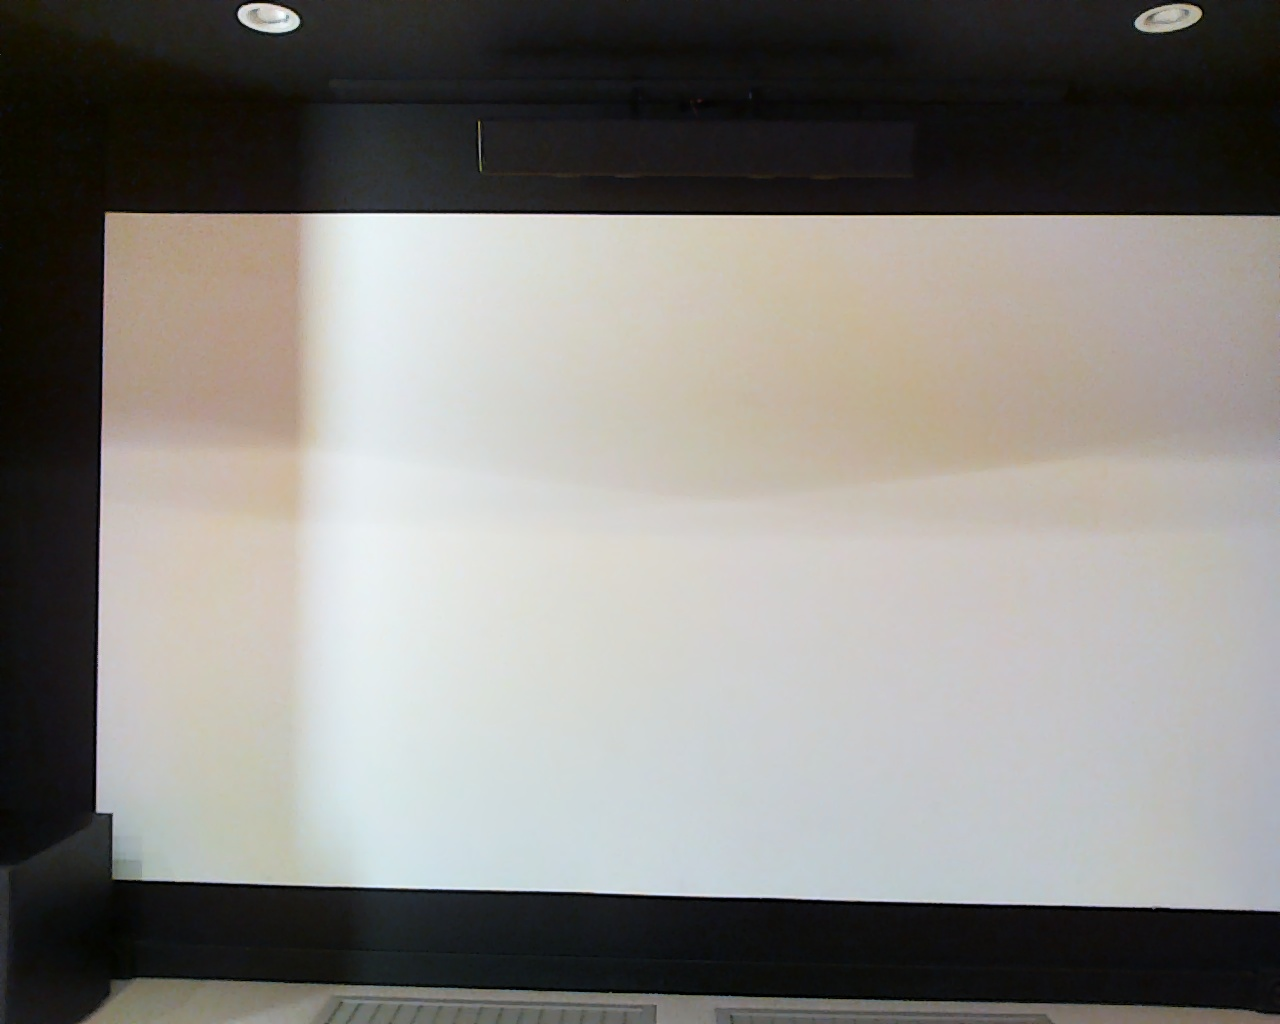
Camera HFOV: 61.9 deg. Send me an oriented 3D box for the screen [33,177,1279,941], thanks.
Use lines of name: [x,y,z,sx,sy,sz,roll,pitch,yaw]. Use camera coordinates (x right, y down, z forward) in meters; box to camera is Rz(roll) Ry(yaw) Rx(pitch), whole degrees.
screen: [0.120,0.100,2.730,3.290,1.870,0.150,1,0,2]

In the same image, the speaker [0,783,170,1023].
speaker: [-1.510,0.950,2.500,0.510,0.460,0.660,1,0,2]
